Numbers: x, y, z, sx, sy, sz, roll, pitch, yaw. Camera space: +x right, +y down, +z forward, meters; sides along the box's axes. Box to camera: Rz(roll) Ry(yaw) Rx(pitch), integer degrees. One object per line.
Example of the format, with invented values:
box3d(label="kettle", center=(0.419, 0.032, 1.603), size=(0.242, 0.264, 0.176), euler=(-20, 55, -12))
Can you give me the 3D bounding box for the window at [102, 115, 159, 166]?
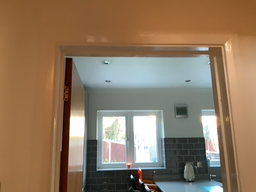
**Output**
box3d(label="window", center=(0.040, 0.790, 3.850), size=(1.000, 0.880, 0.100), euler=(0, -12, -6))
